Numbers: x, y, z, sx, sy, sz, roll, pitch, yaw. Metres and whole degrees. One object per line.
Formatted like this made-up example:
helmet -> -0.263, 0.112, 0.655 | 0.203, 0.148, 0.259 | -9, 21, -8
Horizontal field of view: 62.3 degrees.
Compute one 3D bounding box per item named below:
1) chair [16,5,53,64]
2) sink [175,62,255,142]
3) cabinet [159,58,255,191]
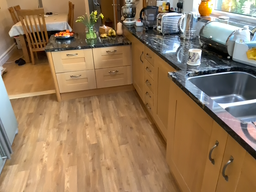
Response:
chair -> -1.830, -1.220, 4.240 | 0.420, 1.050, 0.360 | -9, 29, -13
sink -> 0.640, 0.010, 1.310 | 0.550, 0.270, 0.390 | -8, 29, -11
cabinet -> 0.730, 0.440, 1.120 | 0.700, 0.870, 1.250 | -8, 29, -11
